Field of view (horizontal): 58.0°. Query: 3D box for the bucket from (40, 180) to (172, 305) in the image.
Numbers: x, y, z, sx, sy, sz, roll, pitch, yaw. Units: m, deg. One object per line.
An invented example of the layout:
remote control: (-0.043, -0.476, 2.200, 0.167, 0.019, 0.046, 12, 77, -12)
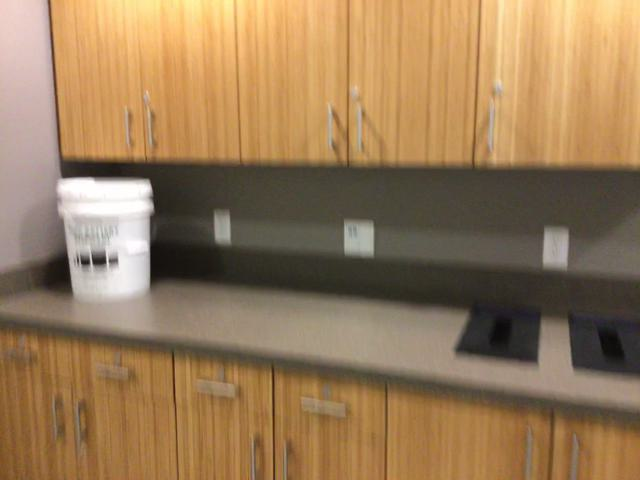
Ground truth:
bucket: (-0.750, -0.010, 2.040, 0.330, 0.380, 0.280, 7, 8, 20)
